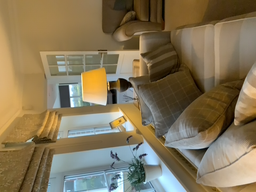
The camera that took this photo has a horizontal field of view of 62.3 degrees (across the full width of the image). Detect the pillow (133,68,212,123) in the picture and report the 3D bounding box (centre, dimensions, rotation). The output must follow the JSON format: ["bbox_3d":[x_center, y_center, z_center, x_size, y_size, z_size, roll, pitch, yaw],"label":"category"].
[{"bbox_3d":[0.390,-0.030,1.910,0.490,0.460,0.210,49,128,36],"label":"pillow"}]

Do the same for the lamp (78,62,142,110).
[{"bbox_3d":[-0.260,-0.170,2.890,0.500,0.780,0.540,-142,50,-71],"label":"lamp"}]

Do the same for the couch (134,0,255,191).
[{"bbox_3d":[0.690,-0.090,1.690,2.090,0.710,1.120,-145,53,-72],"label":"couch"}]

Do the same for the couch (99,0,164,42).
[{"bbox_3d":[0.010,-1.670,3.640,1.000,0.890,1.380,-142,50,-71],"label":"couch"}]

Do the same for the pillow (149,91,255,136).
[{"bbox_3d":[0.510,0.110,1.430,0.510,0.510,0.160,-8,93,43],"label":"pillow"}]
